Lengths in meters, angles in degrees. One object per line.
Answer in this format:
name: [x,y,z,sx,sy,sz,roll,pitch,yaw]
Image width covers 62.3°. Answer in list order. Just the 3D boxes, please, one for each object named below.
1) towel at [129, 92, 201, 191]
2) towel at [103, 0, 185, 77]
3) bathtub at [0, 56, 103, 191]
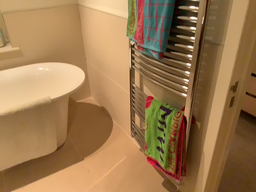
towel: [0.200,0.310,1.340,0.160,0.540,0.400,-23,37,-31]
towel: [0.060,-0.410,1.150,0.140,0.450,0.490,-22,36,-30]
bathtub: [-1.180,0.270,1.740,1.690,0.640,0.850,-19,35,-26]
